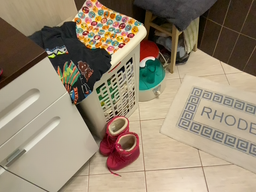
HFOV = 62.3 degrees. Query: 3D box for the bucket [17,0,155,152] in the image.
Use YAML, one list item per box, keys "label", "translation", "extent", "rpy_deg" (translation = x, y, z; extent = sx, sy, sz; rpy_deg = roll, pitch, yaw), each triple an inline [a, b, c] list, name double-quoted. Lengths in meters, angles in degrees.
- label: "bucket"
  translation: [-0.140, -0.090, 1.110]
  extent: [0.340, 0.620, 0.450]
  rpy_deg: [37, 67, 27]
